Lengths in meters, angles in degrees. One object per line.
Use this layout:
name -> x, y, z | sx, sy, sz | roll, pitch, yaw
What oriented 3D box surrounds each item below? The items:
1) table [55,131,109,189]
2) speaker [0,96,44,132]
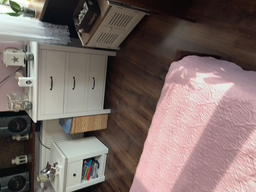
table -> -0.630, 0.830, 2.870 | 0.490, 0.520, 0.480 | 22, 110, 49
speaker -> -1.590, 0.230, 2.640 | 0.290, 0.940, 0.330 | 38, 121, 44
